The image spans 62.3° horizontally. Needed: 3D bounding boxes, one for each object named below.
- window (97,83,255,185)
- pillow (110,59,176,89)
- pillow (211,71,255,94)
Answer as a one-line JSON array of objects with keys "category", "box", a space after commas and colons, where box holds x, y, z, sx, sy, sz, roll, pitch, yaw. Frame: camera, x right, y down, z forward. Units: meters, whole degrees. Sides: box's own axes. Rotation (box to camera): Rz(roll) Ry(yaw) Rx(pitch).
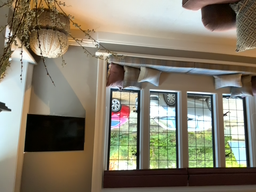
[{"category": "window", "box": [0.900, 0.630, 3.540, 2.730, 1.530, 0.190, 3, 171, -9]}, {"category": "pillow", "box": [0.210, -0.320, 3.240, 0.950, 0.330, 0.360, 2, 171, -6]}, {"category": "pillow", "box": [1.790, -0.220, 3.560, 0.660, 0.290, 0.320, 2, 171, -7]}]
